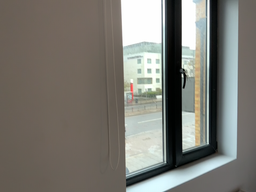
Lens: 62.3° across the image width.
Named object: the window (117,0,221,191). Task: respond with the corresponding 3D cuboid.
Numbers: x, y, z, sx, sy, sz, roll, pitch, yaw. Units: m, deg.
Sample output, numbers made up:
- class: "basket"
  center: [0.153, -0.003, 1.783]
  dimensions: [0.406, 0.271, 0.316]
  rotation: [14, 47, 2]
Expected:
- class: "window"
  center: [0.350, -0.140, 1.480]
  dimensions: [0.940, 1.300, 0.120]
  rotation: [-5, 6, -39]
